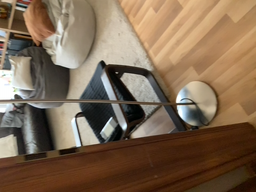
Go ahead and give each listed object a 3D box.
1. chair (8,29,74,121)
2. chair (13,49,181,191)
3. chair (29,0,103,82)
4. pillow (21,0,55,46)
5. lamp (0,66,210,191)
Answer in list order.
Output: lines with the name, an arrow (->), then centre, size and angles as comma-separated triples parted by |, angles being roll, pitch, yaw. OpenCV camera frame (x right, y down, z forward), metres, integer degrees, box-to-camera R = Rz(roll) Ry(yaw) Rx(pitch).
chair -> -1.380, -0.270, 3.240 | 1.000, 0.570, 0.890 | -49, 53, 38
chair -> -0.270, 0.220, 1.610 | 0.570, 0.910, 0.840 | -47, 55, 39
chair -> -0.840, -0.810, 2.670 | 0.900, 0.470, 0.860 | -49, 53, 38
pillow -> -1.120, -0.950, 2.610 | 0.490, 0.230, 0.430 | -25, 69, 45
lamp -> -0.290, 0.130, 1.000 | 0.250, 1.790, 0.420 | -47, 55, 39
